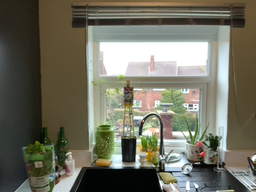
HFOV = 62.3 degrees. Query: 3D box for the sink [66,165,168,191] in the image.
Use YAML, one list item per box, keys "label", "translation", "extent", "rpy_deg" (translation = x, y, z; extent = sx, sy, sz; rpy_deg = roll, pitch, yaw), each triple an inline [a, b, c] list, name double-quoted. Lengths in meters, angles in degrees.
- label: "sink"
  translation: [-0.060, 0.620, 1.270]
  extent: [0.550, 0.220, 0.480]
  rpy_deg: [0, 5, -1]
